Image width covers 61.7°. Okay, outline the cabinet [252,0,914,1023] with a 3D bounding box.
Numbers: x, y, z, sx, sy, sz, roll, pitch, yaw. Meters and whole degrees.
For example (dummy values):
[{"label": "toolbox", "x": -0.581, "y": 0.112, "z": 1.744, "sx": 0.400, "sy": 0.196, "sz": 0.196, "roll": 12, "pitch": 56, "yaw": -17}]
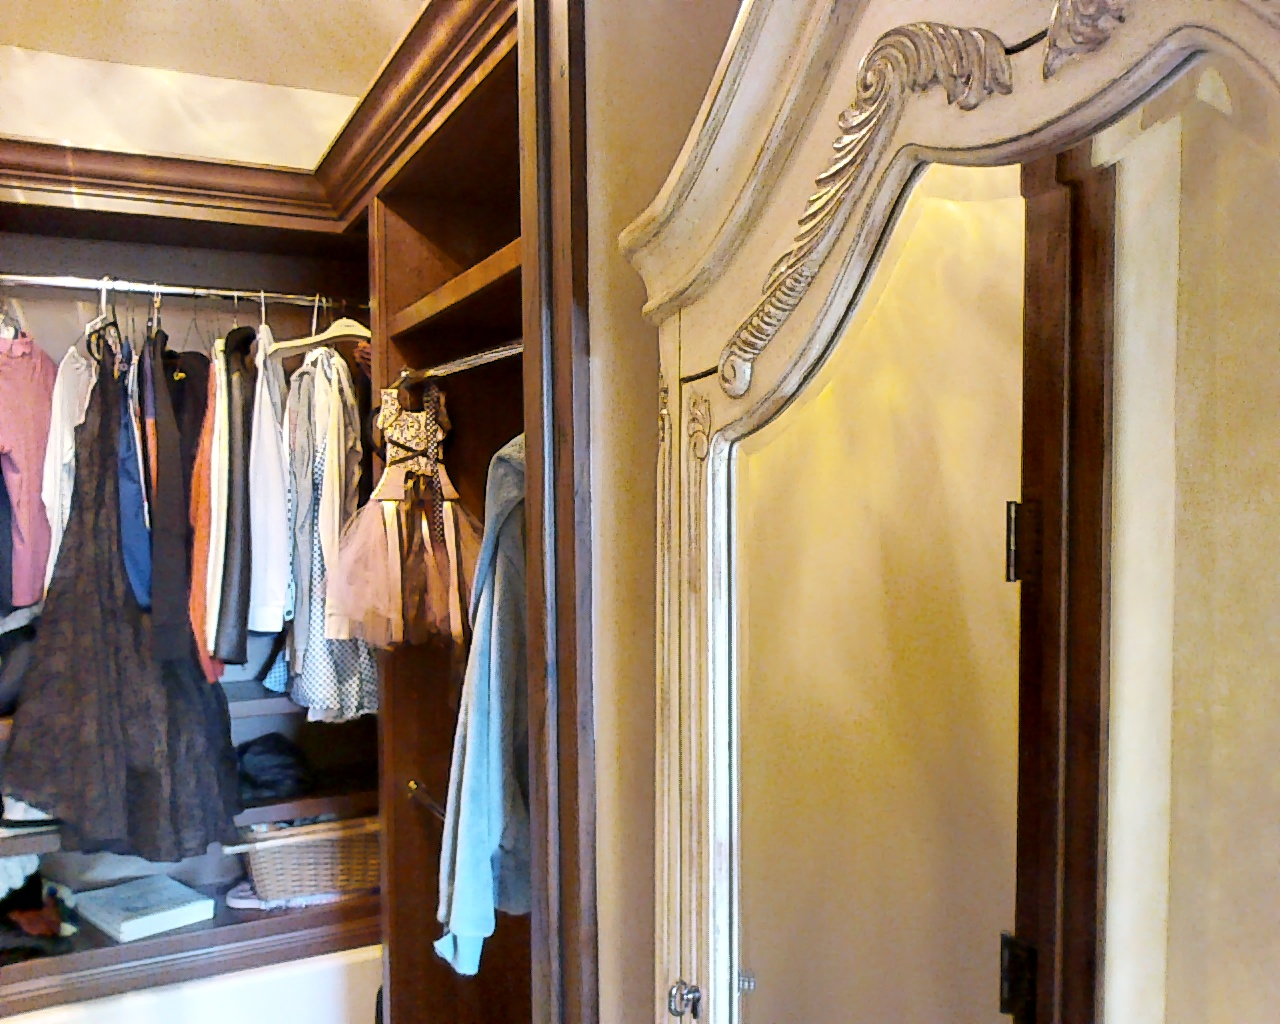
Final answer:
[{"label": "cabinet", "x": -0.240, "y": 0.390, "z": 1.950, "sx": 0.610, "sy": 2.370, "sz": 1.440, "roll": -2, "pitch": 1, "yaw": -28}]
